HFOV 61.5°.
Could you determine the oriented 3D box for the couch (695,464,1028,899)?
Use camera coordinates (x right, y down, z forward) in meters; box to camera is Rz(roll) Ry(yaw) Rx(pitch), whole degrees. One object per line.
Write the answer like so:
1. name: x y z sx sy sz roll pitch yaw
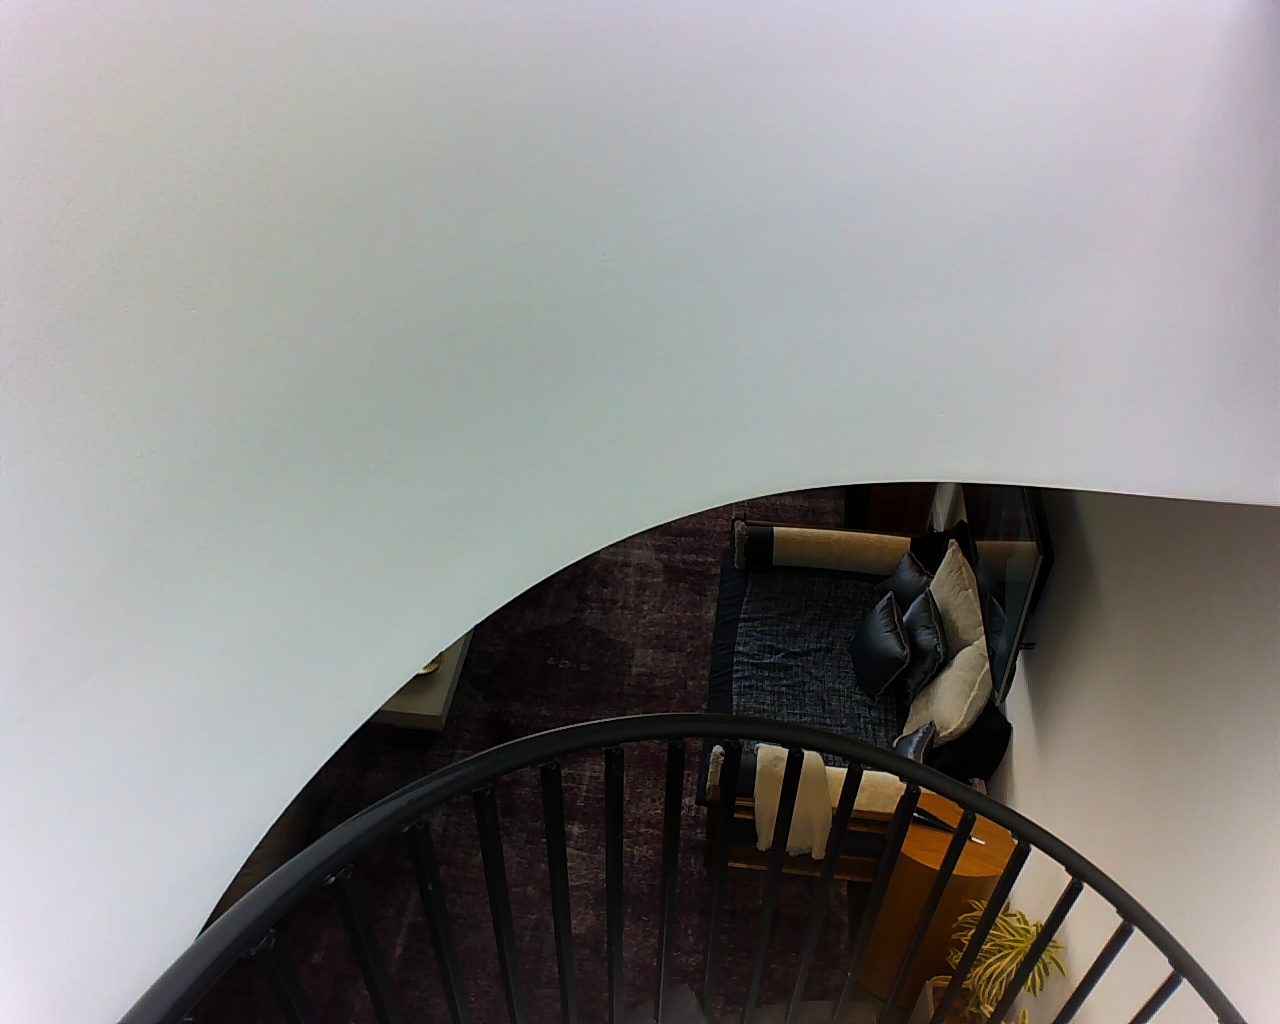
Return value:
1. couch: 1.040 0.760 5.380 1.320 0.900 1.860 5 44 6
